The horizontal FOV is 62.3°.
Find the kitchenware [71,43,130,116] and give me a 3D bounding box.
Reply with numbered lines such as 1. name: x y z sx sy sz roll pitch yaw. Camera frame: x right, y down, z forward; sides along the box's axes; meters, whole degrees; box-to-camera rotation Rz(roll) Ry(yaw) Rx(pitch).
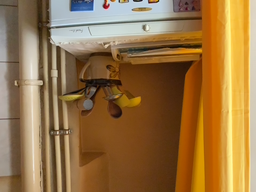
1. kitchenware: -0.120 -0.070 1.070 0.230 0.310 0.310 -1 179 5
